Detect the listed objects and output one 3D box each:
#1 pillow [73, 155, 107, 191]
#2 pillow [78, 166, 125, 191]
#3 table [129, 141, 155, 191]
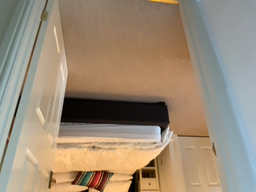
[{"bbox_3d":[-0.600,1.250,3.370,0.460,0.420,0.230,-12,-151,-36],"label":"pillow"},{"bbox_3d":[-0.450,1.470,3.610,0.760,0.480,0.190,4,-163,-3],"label":"pillow"},{"bbox_3d":[0.230,1.310,3.930,0.340,0.530,0.790,2,-121,-7],"label":"table"}]
